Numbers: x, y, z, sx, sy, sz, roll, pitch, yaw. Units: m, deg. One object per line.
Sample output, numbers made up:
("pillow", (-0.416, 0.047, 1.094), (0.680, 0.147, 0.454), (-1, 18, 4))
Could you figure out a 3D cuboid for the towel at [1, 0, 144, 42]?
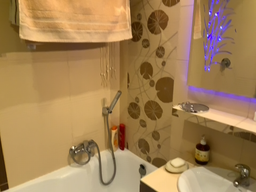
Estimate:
("towel", (-0.250, -0.680, 1.210), (0.190, 0.710, 0.840), (16, 21, 43))
